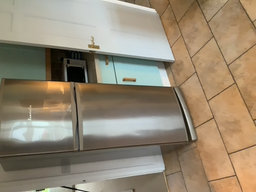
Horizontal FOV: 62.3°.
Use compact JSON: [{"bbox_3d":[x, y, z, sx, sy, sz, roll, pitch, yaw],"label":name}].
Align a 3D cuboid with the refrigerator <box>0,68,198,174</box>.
[{"bbox_3d":[-0.280,0.270,2.110,0.730,1.670,0.640,130,135,-52],"label":"refrigerator"}]
